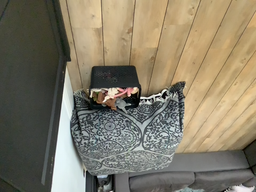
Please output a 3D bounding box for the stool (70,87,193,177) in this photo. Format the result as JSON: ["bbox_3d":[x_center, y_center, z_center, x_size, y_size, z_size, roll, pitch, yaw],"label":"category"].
[{"bbox_3d":[-0.010,0.390,2.040,0.900,0.440,0.920,-2,145,-6],"label":"stool"}]

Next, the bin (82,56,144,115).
[{"bbox_3d":[-0.110,-0.070,1.560,0.390,0.240,0.360,-3,145,-5],"label":"bin"}]
